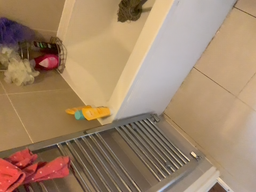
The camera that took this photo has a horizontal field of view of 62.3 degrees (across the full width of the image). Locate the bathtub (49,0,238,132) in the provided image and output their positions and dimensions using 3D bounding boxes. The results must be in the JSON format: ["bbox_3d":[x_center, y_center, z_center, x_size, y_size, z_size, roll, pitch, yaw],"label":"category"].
[{"bbox_3d":[0.170,-0.690,1.160,0.740,0.560,1.610,44,123,29],"label":"bathtub"}]
